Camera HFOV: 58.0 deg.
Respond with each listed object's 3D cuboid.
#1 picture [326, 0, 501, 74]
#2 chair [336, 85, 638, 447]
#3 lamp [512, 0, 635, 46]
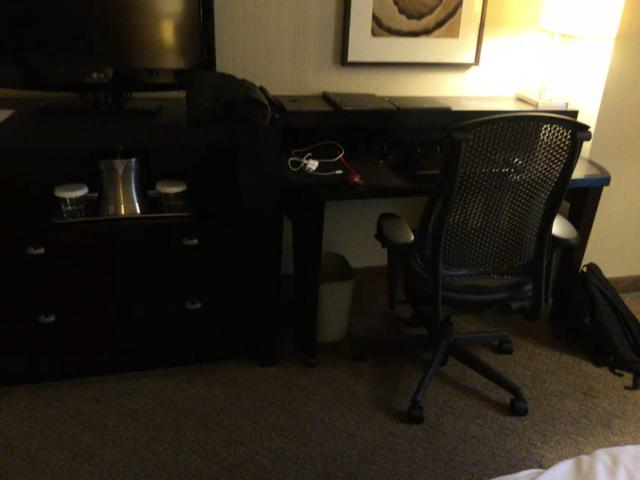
[{"bbox_3d":[0.410,-1.120,2.360,0.730,0.830,0.080,-3,23,-14],"label":"picture"},{"bbox_3d":[0.490,0.050,2.060,0.660,1.080,0.620,-3,23,-14],"label":"chair"},{"bbox_3d":[1.020,-0.940,2.350,0.230,0.250,0.420,-3,23,-14],"label":"lamp"}]
